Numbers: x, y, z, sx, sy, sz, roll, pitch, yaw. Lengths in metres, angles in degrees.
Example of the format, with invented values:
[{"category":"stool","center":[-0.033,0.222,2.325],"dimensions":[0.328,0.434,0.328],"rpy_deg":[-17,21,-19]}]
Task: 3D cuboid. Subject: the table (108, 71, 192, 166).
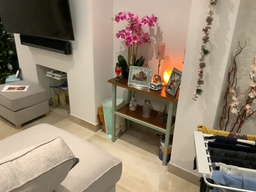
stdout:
[{"category":"table","center":[0.210,0.200,2.340],"dimensions":[0.760,0.750,0.420],"rpy_deg":[16,28,29]}]
